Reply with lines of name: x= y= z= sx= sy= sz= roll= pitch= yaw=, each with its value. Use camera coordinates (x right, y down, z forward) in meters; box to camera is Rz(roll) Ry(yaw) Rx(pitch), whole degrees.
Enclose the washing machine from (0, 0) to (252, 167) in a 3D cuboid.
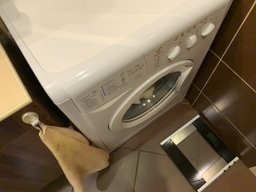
washing machine: x=-0.030 y=-0.120 z=0.960 sx=0.640 sy=0.840 sz=0.470 roll=-34 pitch=69 yaw=-12
